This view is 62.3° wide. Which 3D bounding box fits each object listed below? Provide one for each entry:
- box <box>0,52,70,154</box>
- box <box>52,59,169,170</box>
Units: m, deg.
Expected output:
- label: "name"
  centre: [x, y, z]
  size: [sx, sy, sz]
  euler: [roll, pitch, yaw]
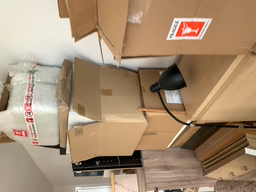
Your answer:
- label: "box"
  centre: [-0.610, 0.060, 1.410]
  size: [0.540, 0.380, 0.420]
  euler: [103, 163, -50]
- label: "box"
  centre: [-0.160, 0.160, 1.570]
  size: [0.690, 0.640, 0.490]
  euler: [103, 163, -50]
